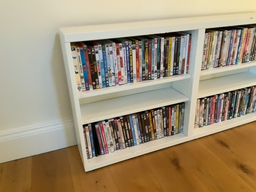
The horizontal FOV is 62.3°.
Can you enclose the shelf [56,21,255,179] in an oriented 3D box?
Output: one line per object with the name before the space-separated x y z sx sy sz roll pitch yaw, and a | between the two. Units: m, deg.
shelf | 0.330 -0.050 1.200 1.300 0.620 0.270 -11 27 -19
